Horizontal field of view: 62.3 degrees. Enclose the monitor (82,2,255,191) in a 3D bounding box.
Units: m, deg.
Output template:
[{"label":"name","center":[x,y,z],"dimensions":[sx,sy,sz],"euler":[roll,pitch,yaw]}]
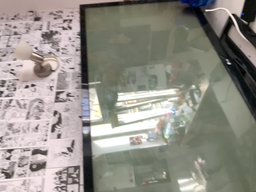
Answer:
[{"label":"monitor","center":[0.150,-0.090,0.840],"dimensions":[0.060,0.620,0.950],"euler":[96,166,-52]}]
